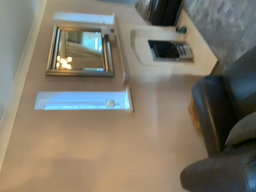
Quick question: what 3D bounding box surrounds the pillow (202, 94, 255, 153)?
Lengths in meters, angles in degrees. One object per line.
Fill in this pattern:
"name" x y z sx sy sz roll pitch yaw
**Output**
"pillow" 0.810 0.160 1.410 0.190 0.270 0.550 50 141 2
